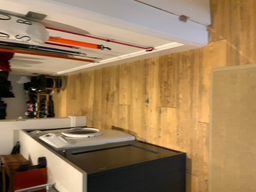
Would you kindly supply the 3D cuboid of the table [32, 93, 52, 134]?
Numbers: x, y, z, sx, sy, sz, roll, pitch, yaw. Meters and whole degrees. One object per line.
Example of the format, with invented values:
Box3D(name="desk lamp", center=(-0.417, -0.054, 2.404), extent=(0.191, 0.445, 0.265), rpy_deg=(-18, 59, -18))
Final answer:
Box3D(name="table", center=(-1.880, 0.360, 4.630), extent=(0.290, 0.310, 0.860), rpy_deg=(1, 90, 53))
